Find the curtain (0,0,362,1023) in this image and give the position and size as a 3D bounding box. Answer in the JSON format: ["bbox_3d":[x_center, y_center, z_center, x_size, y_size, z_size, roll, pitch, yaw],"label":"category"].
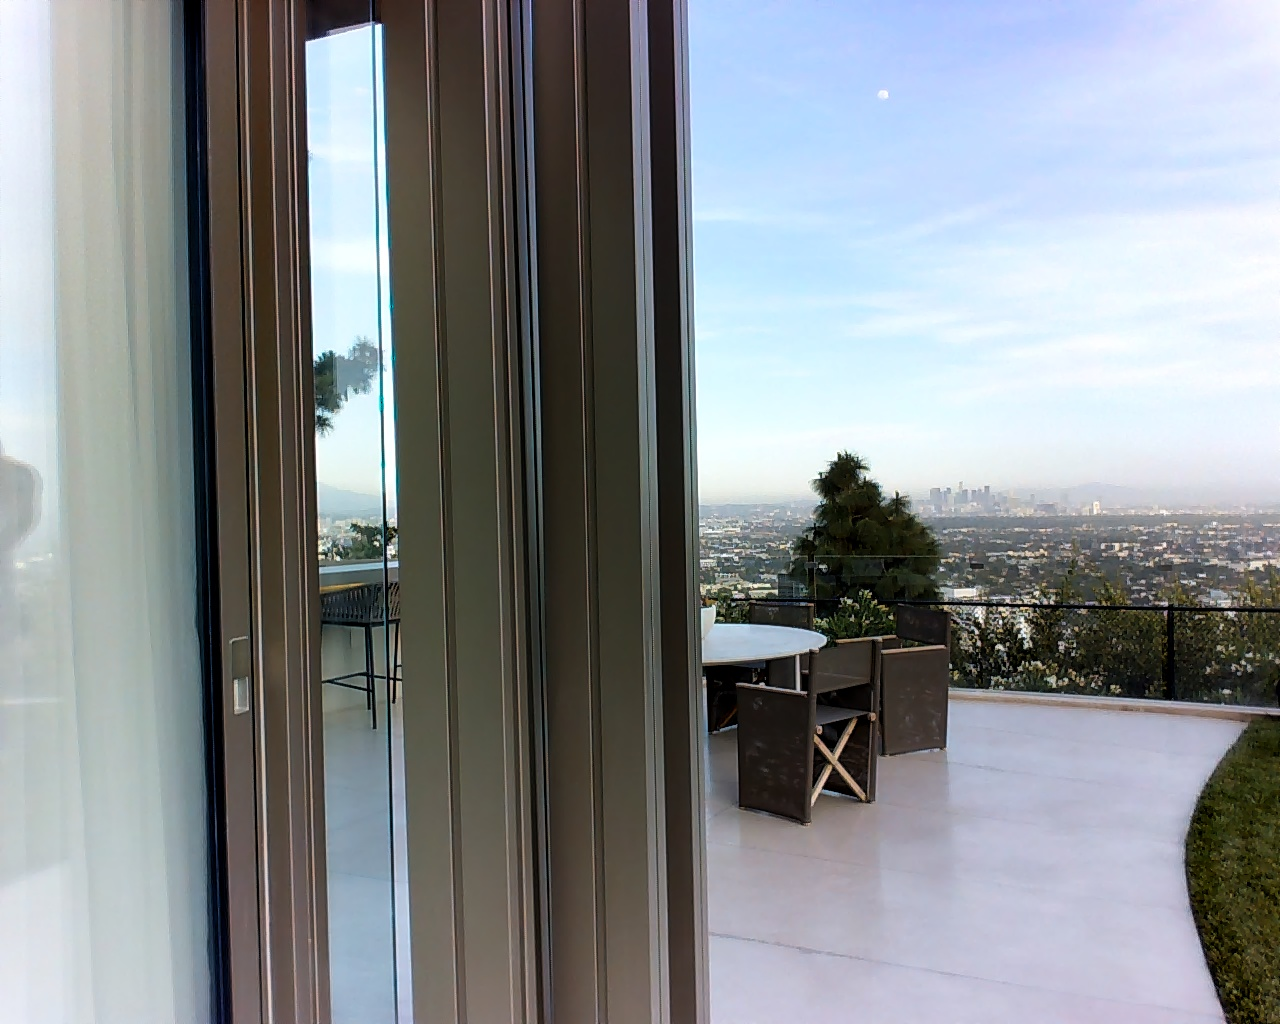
[{"bbox_3d":[-1.190,-0.010,2.130,0.510,3.040,1.260,-1,0,24],"label":"curtain"}]
